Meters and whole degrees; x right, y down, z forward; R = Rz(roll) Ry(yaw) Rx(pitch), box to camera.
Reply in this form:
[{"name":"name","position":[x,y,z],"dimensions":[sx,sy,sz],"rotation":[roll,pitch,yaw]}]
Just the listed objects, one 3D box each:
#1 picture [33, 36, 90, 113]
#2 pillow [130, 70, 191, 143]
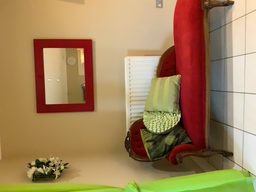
[{"name":"picture","position":[-0.790,-0.260,2.560],"dimensions":[0.020,0.630,0.900],"rotation":[-153,61,-84]},{"name":"pillow","position":[0.330,0.100,2.220],"dimensions":[0.230,0.400,0.630],"rotation":[-152,42,-83]}]
